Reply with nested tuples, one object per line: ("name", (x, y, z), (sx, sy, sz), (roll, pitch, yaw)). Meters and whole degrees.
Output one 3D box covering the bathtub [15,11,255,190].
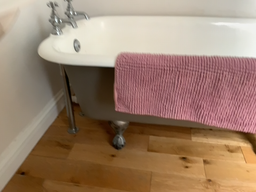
("bathtub", (0.480, -0.050, 1.130), (1.670, 0.600, 0.770), (5, 32, 9))
